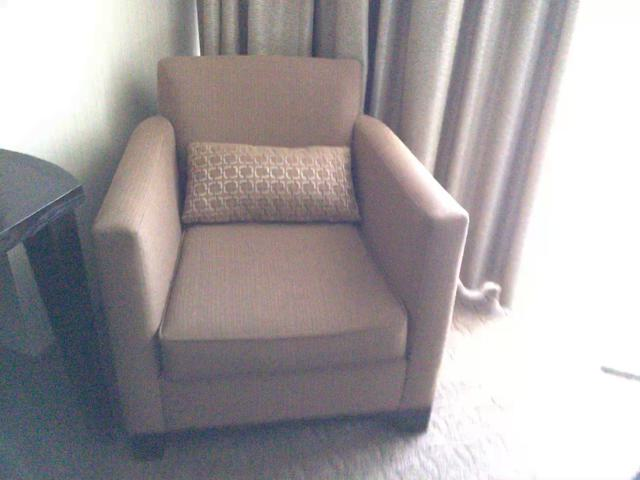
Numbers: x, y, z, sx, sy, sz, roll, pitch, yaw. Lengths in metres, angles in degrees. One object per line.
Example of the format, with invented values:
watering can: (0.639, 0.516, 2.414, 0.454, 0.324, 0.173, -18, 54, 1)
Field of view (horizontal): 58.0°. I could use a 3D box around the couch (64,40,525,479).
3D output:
couch: (-0.120, -0.040, 1.700, 0.850, 0.850, 1.020, -1, 28, -9)
